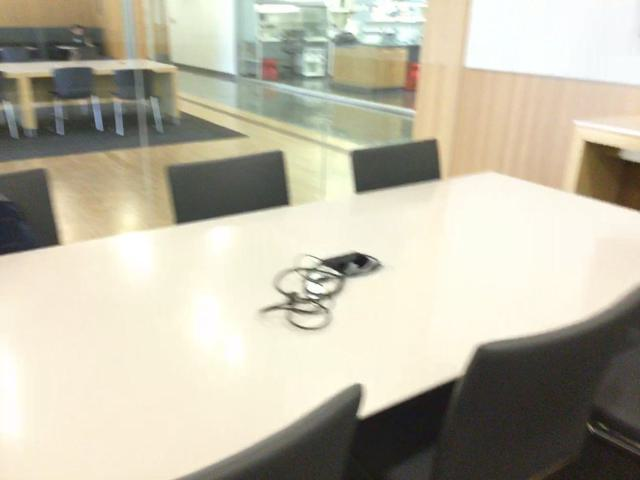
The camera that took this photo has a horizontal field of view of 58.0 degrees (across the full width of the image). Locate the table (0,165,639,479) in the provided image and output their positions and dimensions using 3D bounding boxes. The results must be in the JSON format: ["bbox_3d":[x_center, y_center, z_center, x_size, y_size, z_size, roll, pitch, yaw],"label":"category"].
[{"bbox_3d":[0.060,0.420,1.720,2.290,0.780,1.110,-13,26,-31],"label":"table"}]

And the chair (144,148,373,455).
[{"bbox_3d":[-0.230,0.160,2.060,0.530,0.810,0.610,-13,26,-31],"label":"chair"}]

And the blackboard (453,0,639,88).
[{"bbox_3d":[1.730,-0.990,2.920,0.080,0.440,2.780,-13,26,-31],"label":"blackboard"}]

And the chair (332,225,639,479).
[{"bbox_3d":[0.360,0.430,1.320,0.510,0.760,0.420,-13,26,-31],"label":"chair"}]
